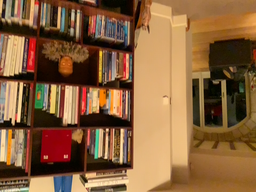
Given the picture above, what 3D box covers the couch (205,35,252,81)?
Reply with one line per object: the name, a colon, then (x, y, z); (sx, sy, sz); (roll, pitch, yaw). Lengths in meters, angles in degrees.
couch: (2.750, -0.970, 6.010); (0.990, 0.700, 1.940); (-1, 174, 21)
